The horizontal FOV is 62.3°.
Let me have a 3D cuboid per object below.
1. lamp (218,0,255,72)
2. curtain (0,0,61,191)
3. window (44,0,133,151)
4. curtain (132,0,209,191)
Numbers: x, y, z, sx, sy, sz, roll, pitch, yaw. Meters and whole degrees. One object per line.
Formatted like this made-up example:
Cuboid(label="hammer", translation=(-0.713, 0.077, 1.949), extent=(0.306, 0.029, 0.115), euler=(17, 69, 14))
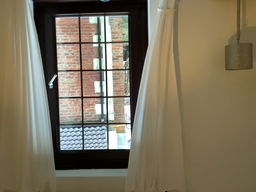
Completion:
Cuboid(label="lamp", translation=(0.830, -0.510, 1.610), extent=(0.200, 0.630, 0.220), euler=(-1, -177, 2))
Cuboid(label="curtain", translation=(-0.850, -0.360, 1.710), extent=(0.450, 2.460, 0.190), euler=(-1, -177, 0))
Cuboid(label="window", translation=(-0.360, -0.180, 2.000), extent=(0.790, 1.390, 0.030), euler=(-1, -177, 0))
Cuboid(label="curtain", translation=(0.310, -0.350, 1.630), extent=(0.540, 2.470, 0.220), euler=(-1, -177, 1))
